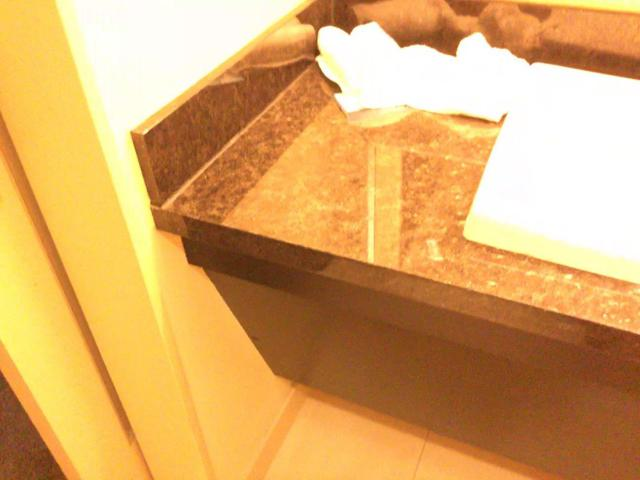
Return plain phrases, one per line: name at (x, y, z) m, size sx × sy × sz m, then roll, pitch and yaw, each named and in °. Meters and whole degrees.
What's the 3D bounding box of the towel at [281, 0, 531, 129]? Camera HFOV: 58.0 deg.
towel at (0.140, -0.300, 0.950) m, size 0.350 × 0.080 × 0.200 m, roll 16°, pitch 45°, yaw 20°
